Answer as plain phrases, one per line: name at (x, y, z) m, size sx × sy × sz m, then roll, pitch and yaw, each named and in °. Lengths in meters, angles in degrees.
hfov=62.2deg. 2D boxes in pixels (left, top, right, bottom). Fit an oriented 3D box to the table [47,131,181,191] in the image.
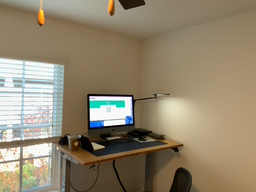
table at (-0.140, 1.040, 2.350) m, size 1.240 × 1.080 × 0.780 m, roll 1°, pitch 1°, yaw -38°
